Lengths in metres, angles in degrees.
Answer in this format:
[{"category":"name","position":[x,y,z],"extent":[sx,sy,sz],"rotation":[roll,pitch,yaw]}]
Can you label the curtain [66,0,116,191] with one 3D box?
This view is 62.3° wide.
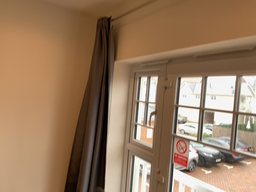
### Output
[{"category":"curtain","position":[-0.420,0.360,2.160],"extent":[0.200,2.450,0.490],"rotation":[4,1,-30]}]
